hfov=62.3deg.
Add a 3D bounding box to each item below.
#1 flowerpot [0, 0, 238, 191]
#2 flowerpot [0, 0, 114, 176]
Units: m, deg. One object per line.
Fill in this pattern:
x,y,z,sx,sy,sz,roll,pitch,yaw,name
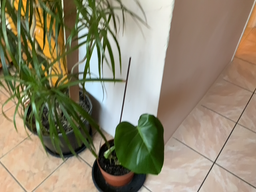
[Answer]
-0.090,0.130,0.770,0.450,1.020,0.400,35,56,28,flowerpot
-0.330,-0.100,0.930,0.330,1.010,0.370,33,55,27,flowerpot
